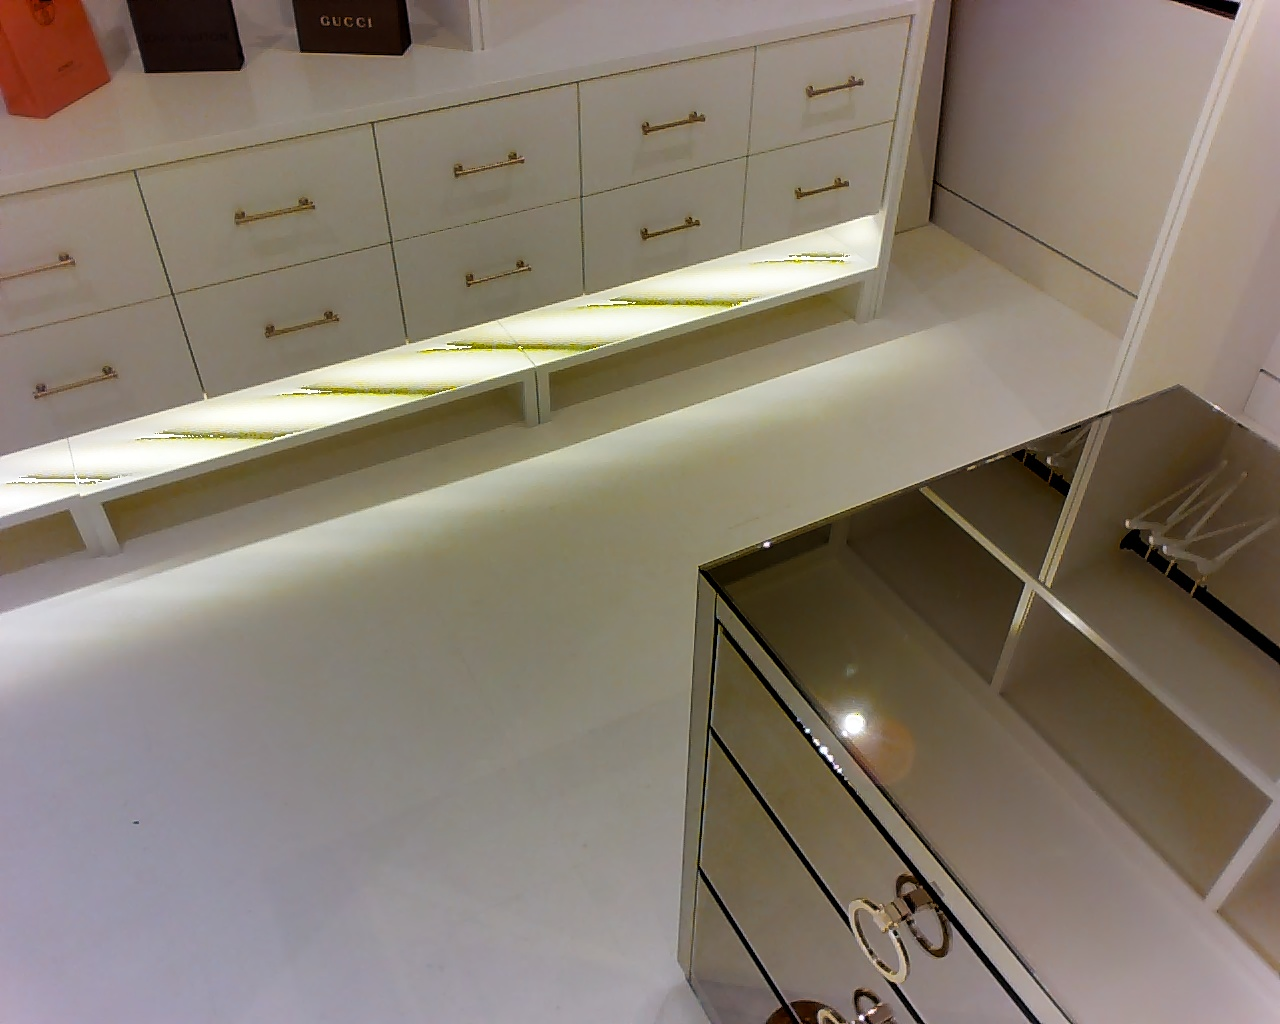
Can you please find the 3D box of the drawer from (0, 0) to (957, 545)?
[{"bbox_3d":[-0.810,-0.610,2.460,3.260,0.720,0.600,-19,45,-21],"label":"drawer"}]
